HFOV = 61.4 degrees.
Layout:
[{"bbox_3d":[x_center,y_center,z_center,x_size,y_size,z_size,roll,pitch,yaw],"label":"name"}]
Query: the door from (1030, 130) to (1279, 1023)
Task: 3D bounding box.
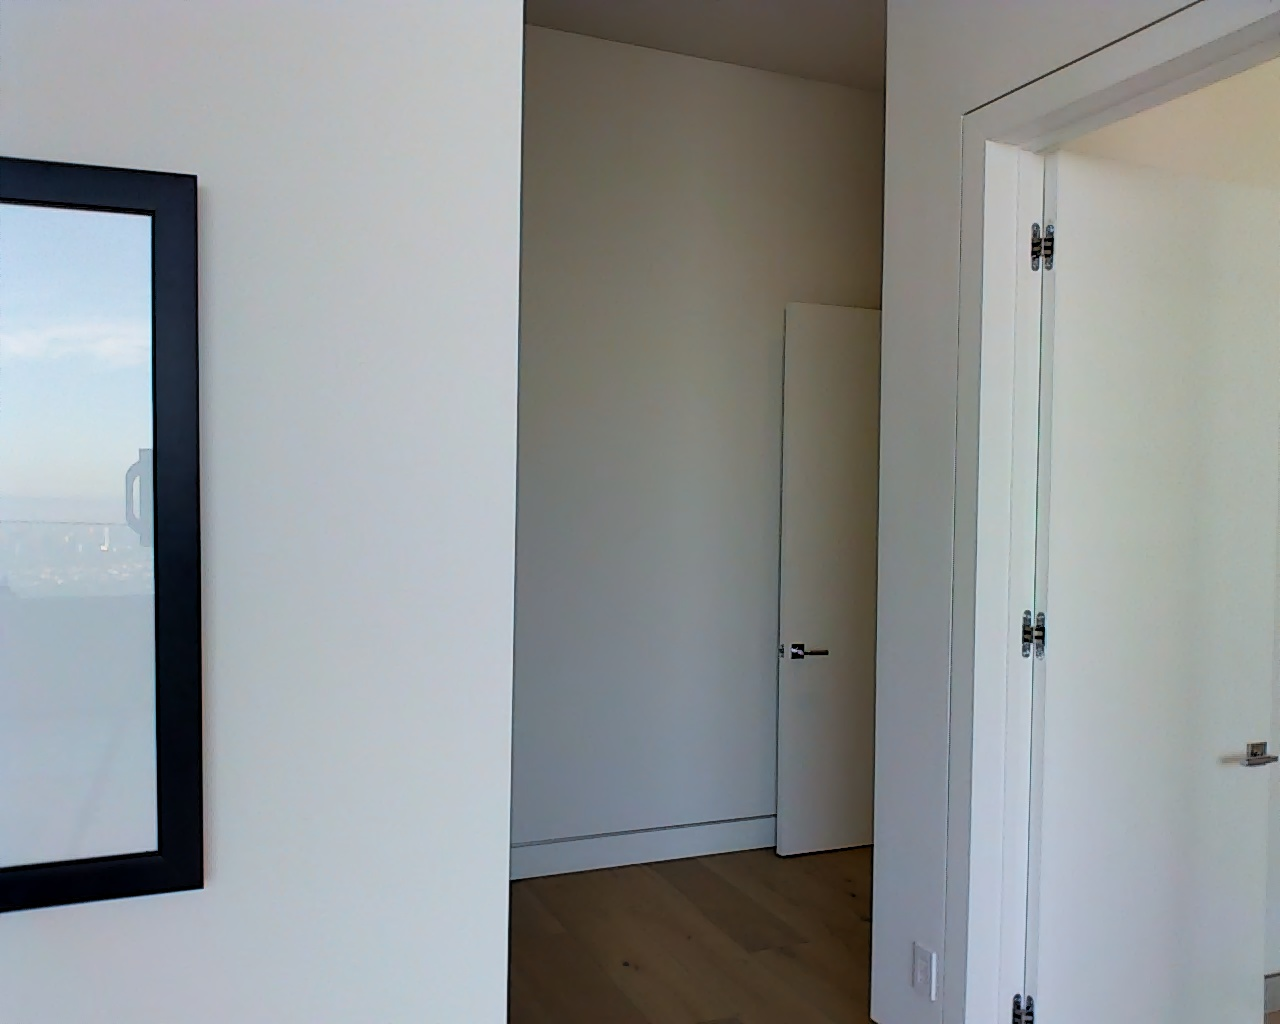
[{"bbox_3d":[1.360,0.310,2.750,0.840,2.420,0.050,1,1,-23],"label":"door"}]
